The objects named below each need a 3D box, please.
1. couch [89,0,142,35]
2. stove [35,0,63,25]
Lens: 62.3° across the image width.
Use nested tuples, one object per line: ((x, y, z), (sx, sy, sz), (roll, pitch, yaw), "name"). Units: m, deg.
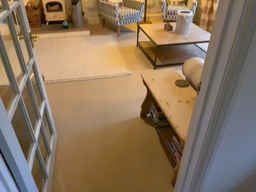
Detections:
((-0.270, -1.860, 4.430), (0.730, 0.820, 0.860), (-22, 41, -30), "couch")
((-1.610, -1.810, 4.360), (0.440, 0.560, 0.390), (-8, 36, -13), "stove")
